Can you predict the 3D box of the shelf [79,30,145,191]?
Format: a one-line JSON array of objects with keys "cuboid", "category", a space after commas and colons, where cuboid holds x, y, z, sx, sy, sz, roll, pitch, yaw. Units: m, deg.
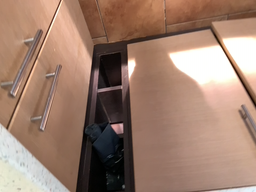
[{"cuboid": [-0.040, 0.100, 0.920, 0.140, 0.840, 0.350, -9, 137, 6], "category": "shelf"}]
